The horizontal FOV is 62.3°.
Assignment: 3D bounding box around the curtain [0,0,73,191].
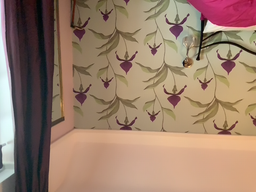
[{"bbox_3d":[-0.610,-0.300,1.410,0.320,2.350,0.340,1,-174,5],"label":"curtain"}]
